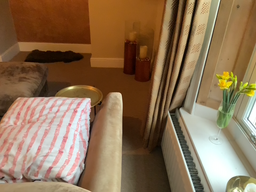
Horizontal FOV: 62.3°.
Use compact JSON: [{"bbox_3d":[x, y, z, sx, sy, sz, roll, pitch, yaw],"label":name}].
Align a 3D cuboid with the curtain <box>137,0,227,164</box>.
[{"bbox_3d":[0.340,-0.540,1.400,0.350,2.320,0.480,1,31,-4],"label":"curtain"}]
